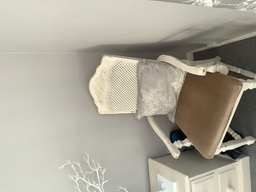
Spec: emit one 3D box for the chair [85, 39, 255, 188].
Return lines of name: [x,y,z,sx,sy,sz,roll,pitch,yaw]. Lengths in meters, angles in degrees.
chair: [0.310,0.000,1.410,0.730,0.980,0.530,47,135,50]
